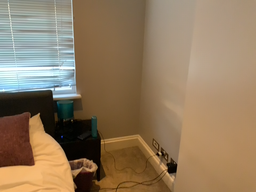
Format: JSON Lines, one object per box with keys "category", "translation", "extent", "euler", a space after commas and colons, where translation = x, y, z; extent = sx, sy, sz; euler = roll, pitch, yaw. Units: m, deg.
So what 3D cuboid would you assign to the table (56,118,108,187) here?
{"category": "table", "translation": [-0.490, 0.560, 2.220], "extent": [0.450, 0.450, 0.470], "euler": [-5, 20, -20]}
